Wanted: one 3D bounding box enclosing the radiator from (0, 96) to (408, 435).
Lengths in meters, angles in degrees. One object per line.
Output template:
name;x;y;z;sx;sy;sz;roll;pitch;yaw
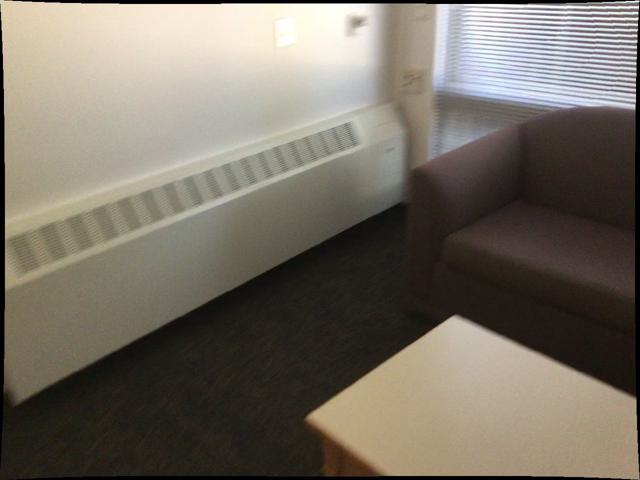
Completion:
radiator;-0.309;-0.060;2.460;0.150;0.651;2.119;21;36;38

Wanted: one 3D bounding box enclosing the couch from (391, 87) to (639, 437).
couch;1.248;0.080;1.930;1.799;0.771;0.929;22;36;38
